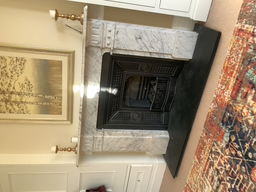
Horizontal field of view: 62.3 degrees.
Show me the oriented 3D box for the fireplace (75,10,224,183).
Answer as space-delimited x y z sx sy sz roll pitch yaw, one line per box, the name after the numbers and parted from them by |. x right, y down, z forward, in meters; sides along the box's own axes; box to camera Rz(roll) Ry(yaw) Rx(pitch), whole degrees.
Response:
0.070 0.060 2.480 0.740 1.240 1.770 -111 27 -62 | fireplace
